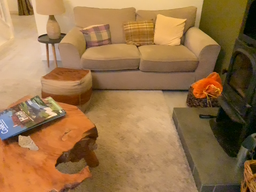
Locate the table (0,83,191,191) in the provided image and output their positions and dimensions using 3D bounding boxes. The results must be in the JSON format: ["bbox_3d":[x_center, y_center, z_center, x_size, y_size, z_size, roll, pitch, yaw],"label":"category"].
[{"bbox_3d":[-0.430,0.500,1.070,0.830,0.480,1.300,-23,39,-35],"label":"table"}]
